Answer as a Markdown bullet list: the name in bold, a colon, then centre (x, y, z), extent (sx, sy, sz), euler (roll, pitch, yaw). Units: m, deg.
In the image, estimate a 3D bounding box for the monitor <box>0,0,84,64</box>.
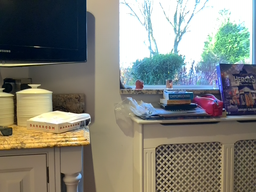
- **monitor**: centre (-0.550, -0.370, 1.030), extent (0.660, 0.390, 0.050), euler (-1, 3, -25)
